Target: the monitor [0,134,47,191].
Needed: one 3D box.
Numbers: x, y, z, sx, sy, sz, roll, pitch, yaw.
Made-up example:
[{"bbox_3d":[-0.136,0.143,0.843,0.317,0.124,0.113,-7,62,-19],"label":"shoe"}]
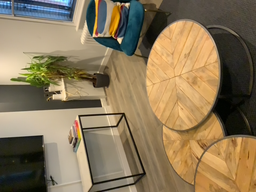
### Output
[{"bbox_3d":[-1.310,0.900,2.640,0.050,0.530,0.940,-61,38,42],"label":"monitor"}]
